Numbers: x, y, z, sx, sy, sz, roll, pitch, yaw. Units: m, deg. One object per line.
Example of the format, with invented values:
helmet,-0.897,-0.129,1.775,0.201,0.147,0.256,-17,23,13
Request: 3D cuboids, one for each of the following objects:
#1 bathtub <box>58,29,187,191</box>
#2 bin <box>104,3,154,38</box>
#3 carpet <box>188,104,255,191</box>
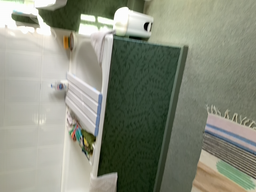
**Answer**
bathtub,-0.150,0.360,1.750,0.720,0.580,1.660,28,114,55
bin,0.000,-0.620,1.780,0.310,0.270,0.210,26,112,56
carpet,0.540,0.530,1.170,0.460,0.020,0.870,29,114,55
